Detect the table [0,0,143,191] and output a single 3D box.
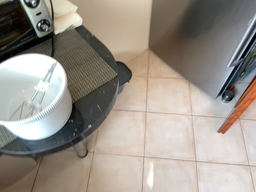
[{"bbox_3d":[-0.330,0.080,1.050,0.490,0.770,0.610,-35,63,-20],"label":"table"}]
